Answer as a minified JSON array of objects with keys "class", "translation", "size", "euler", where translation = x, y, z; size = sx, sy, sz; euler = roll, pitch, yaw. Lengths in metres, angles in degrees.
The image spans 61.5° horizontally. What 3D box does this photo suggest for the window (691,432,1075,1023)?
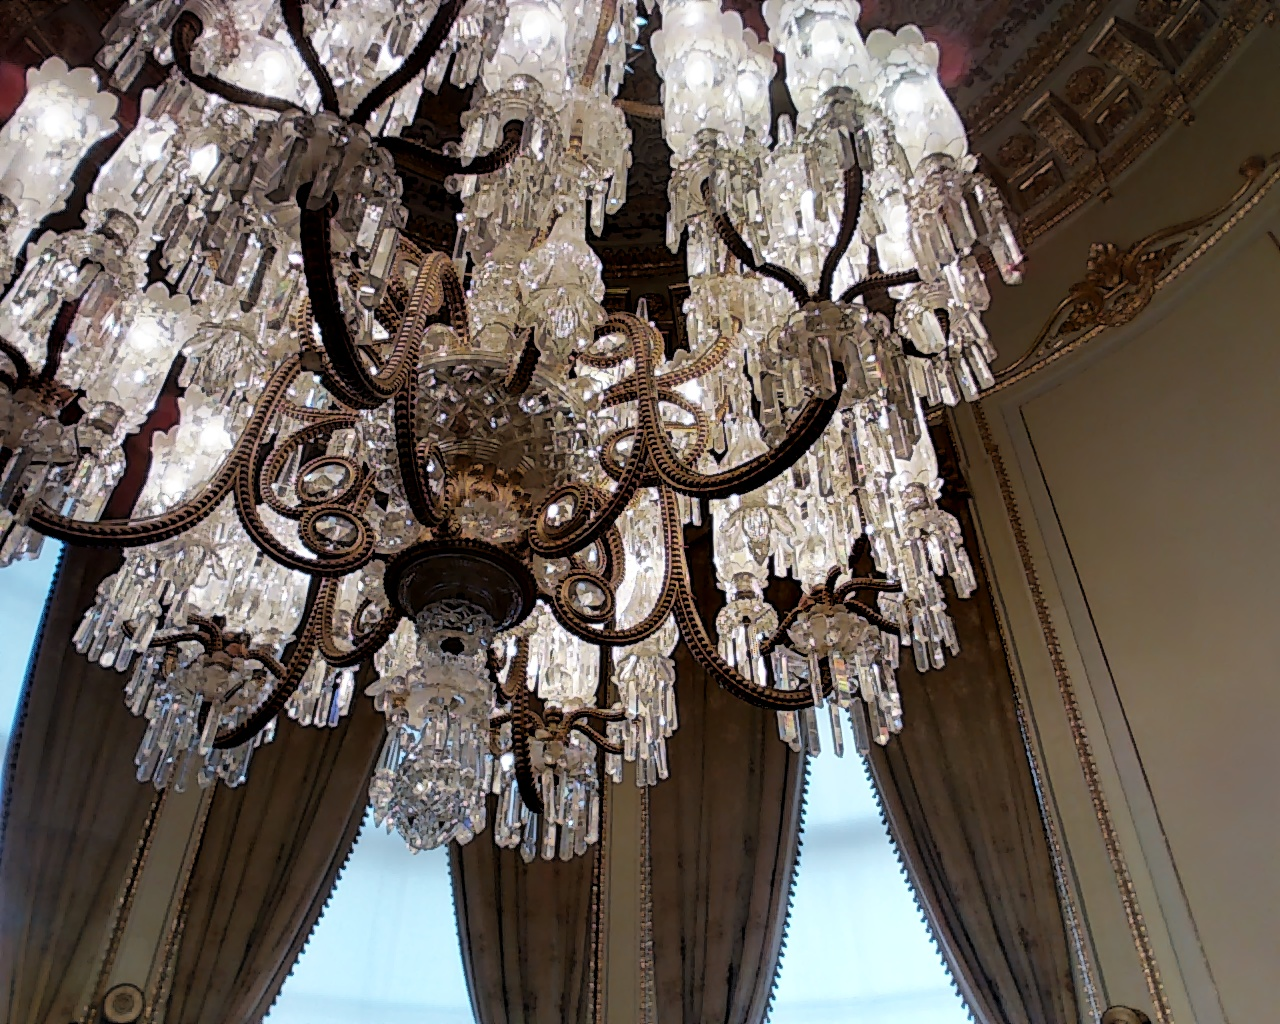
[{"class":"window","translation":[0.929,1.061,4.830],"size":[1.359,3.431,0.160],"euler":[-14,-44,16]}]
